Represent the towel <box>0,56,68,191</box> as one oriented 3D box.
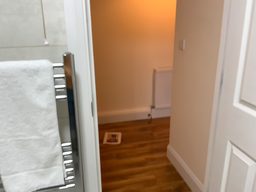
[{"bbox_3d":[-0.370,0.140,0.810,0.220,0.560,0.120,-5,14,-12],"label":"towel"}]
